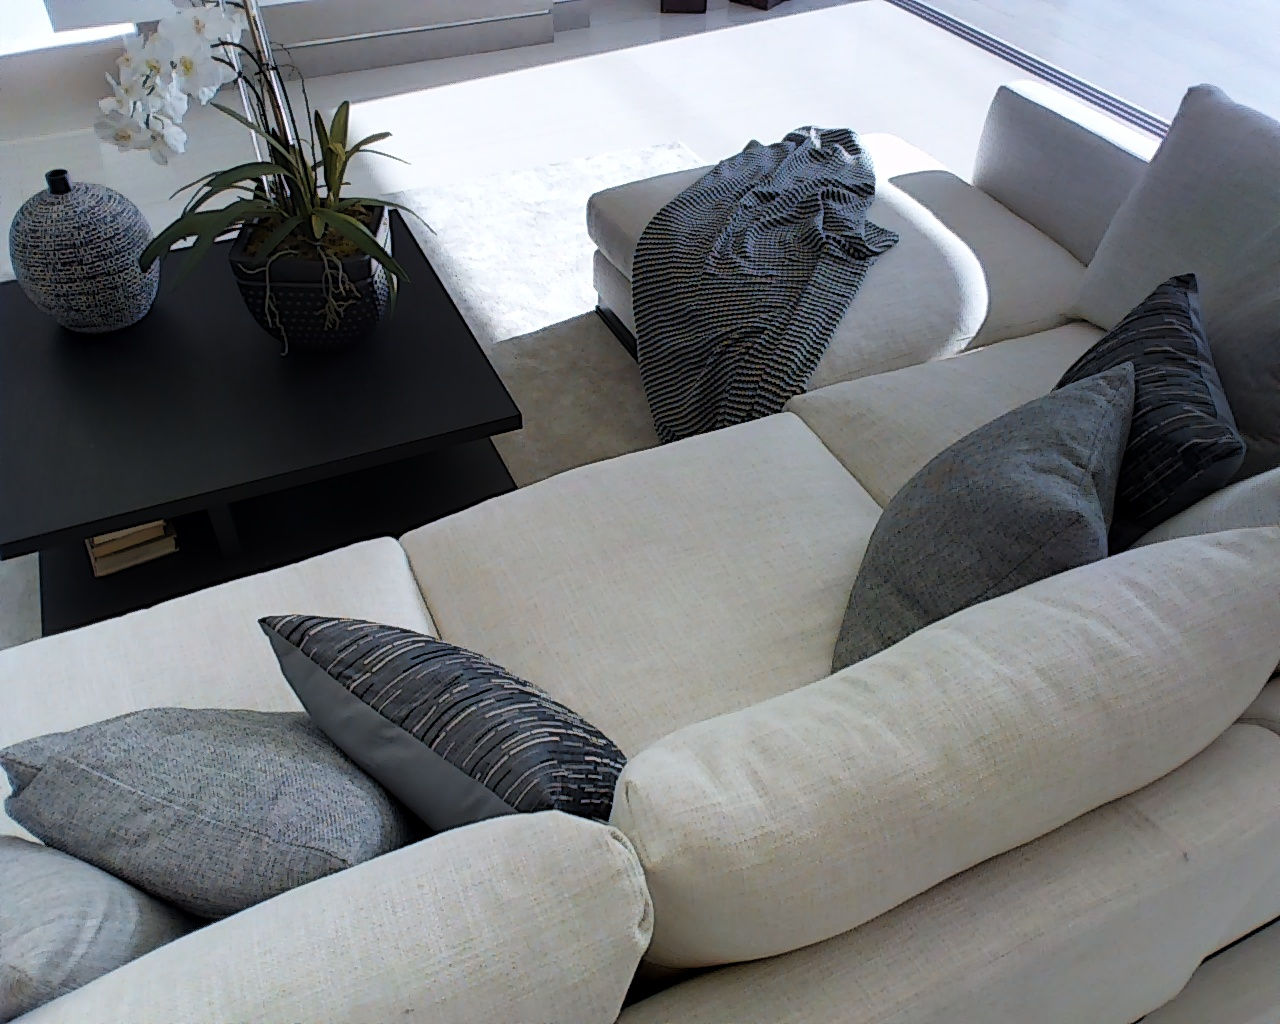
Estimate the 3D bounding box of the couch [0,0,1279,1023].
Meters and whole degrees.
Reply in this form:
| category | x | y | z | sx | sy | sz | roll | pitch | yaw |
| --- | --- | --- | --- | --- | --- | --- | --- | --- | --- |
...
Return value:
| category | x | y | z | sx | sy | sz | roll | pitch | yaw |
| --- | --- | --- | --- | --- | --- | --- | --- | --- | --- |
| couch | 0.030 | -0.090 | 2.070 | 2.969 | 0.780 | 2.350 | -16 | 45 | -20 |

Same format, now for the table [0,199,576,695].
| category | x | y | z | sx | sy | sz | roll | pitch | yaw |
| --- | --- | --- | --- | --- | --- | --- | --- | --- | --- |
| table | -0.900 | -0.260 | 2.560 | 1.140 | 0.320 | 1.130 | -16 | 45 | -20 |

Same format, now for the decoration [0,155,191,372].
| category | x | y | z | sx | sy | sz | roll | pitch | yaw |
| --- | --- | --- | --- | --- | --- | --- | --- | --- | --- |
| decoration | -1.230 | -0.560 | 2.410 | 0.280 | 0.320 | 0.300 | -22 | 47 | -25 |
